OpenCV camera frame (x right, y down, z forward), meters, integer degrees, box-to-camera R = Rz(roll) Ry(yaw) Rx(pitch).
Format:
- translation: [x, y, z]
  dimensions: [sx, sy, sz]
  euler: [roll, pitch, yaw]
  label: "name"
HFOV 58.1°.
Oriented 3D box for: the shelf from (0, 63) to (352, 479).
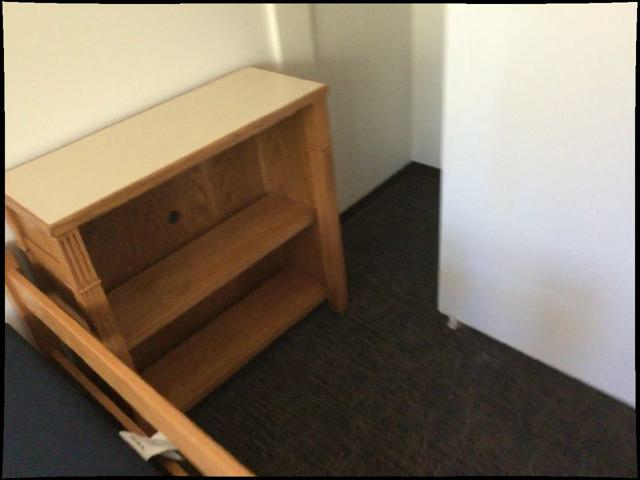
- translation: [-0.329, 0.050, 1.580]
  dimensions: [0.380, 0.761, 0.790]
  euler: [24, 47, 35]
  label: "shelf"
